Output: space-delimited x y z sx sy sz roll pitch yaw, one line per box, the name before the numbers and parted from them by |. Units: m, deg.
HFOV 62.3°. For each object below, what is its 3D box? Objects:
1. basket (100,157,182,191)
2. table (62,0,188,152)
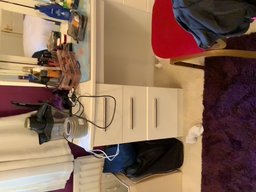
basket | 0.090 0.720 1.640 0.430 0.470 0.330 -1 88 57
table | -0.020 -0.320 1.600 0.510 0.790 1.270 -1 88 56
